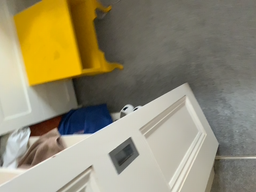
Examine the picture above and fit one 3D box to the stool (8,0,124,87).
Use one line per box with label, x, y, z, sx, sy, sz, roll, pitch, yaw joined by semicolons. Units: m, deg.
stool;-0.320;-0.300;1.200;0.370;0.420;0.390;-8;97;29
